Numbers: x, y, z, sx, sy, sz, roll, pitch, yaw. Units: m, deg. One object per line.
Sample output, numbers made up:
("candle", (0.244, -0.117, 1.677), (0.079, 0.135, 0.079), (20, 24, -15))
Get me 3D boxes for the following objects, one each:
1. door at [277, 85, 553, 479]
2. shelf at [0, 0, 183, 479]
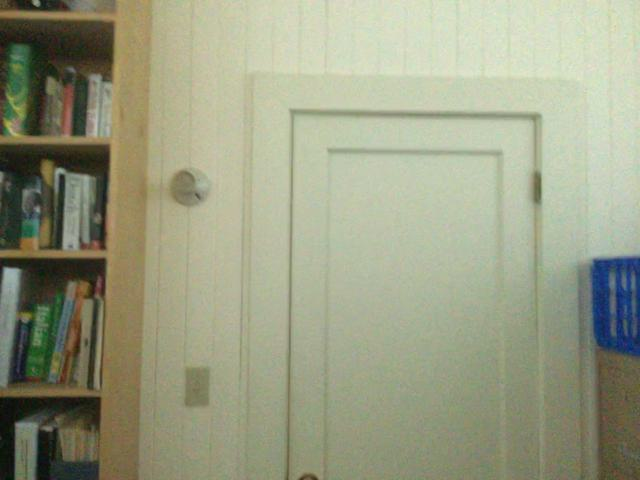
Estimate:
("door", (0.270, 0.580, 1.660), (0.780, 2.020, 0.090), (1, -3, -4))
("shelf", (-0.940, 0.380, 1.360), (1.070, 2.380, 0.520), (1, -3, -4))
